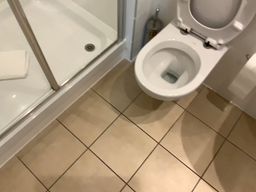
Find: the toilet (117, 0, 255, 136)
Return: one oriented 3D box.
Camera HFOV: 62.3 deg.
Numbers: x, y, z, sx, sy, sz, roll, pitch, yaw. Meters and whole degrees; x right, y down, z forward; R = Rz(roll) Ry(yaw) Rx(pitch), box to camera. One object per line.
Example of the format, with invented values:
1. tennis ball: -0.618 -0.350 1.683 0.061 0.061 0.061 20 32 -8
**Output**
1. toilet: 0.260 -0.230 1.120 0.380 0.840 0.520 39 66 16
